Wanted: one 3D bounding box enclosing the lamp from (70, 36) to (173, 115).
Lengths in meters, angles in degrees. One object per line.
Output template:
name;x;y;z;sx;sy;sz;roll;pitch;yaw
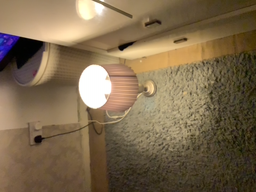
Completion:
lamp;-0.020;-0.080;1.180;0.310;0.470;0.320;-9;84;39
